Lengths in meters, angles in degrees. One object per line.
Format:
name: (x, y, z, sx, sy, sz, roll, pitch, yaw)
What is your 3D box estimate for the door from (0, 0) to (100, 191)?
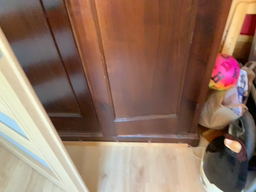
door: (-0.610, -0.290, 0.530, 0.850, 2.080, 0.090, 20, 52, 21)
